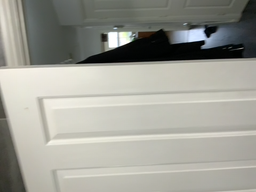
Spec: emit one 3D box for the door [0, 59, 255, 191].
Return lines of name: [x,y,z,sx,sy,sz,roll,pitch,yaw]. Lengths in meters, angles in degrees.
door: [0.600,0.230,0.860,0.060,2.000,0.760,-99,7,-68]
